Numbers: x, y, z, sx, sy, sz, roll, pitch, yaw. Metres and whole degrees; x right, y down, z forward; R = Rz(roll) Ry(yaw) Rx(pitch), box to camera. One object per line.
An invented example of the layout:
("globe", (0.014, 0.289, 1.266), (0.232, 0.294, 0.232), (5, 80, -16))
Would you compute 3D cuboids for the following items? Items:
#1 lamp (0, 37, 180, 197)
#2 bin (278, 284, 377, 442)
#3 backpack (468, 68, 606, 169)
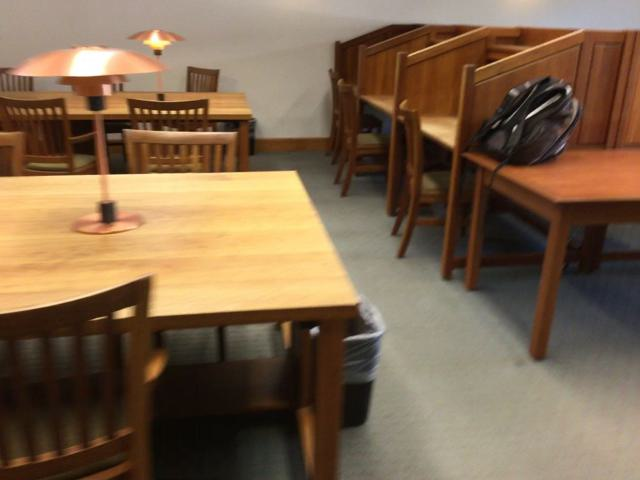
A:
("lamp", (-0.660, -0.380, 1.720), (0.420, 0.400, 0.340), (-3, 23, -9))
("bin", (0.010, 0.440, 2.150), (0.290, 0.380, 0.420), (-3, 23, -9))
("backpack", (1.000, -0.590, 2.740), (0.420, 0.390, 0.410), (-3, 23, -9))
